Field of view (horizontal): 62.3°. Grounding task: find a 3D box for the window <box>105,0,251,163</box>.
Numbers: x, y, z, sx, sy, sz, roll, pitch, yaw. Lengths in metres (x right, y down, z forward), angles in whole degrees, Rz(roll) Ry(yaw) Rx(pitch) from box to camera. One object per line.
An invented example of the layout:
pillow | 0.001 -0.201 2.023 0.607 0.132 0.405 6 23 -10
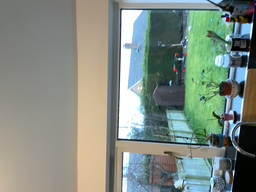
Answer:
window | 0.360 -0.110 1.760 0.160 1.040 1.240 -58 -29 -80
